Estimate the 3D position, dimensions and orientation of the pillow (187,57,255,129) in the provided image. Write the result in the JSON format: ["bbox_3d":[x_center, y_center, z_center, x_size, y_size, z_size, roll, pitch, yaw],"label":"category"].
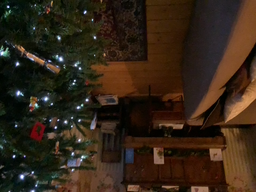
[{"bbox_3d":[0.740,0.010,1.700,0.110,0.450,0.580,53,166,24],"label":"pillow"}]
